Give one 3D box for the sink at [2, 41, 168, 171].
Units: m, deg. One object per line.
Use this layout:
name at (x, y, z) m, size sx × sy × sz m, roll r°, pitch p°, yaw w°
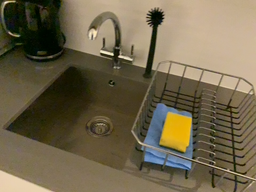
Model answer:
sink at (-0.140, 0.010, 0.900) m, size 0.520 × 0.240 × 0.380 m, roll 15°, pitch 41°, yaw 8°
